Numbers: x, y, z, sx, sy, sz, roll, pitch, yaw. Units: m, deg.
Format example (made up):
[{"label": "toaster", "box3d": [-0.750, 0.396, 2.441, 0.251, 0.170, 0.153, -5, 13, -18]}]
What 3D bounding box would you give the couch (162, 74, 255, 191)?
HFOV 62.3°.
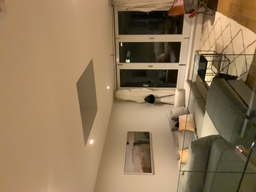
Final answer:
[{"label": "couch", "box3d": [1.300, 0.690, 4.170, 3.010, 0.930, 1.090, -84, -6, -60]}]
